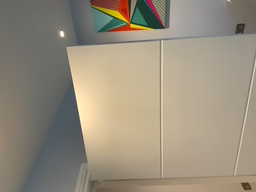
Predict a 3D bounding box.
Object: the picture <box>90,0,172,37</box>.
[{"bbox_3d":[0.020,-1.230,2.130,0.040,0.870,1.230,-89,-4,-56],"label":"picture"}]
